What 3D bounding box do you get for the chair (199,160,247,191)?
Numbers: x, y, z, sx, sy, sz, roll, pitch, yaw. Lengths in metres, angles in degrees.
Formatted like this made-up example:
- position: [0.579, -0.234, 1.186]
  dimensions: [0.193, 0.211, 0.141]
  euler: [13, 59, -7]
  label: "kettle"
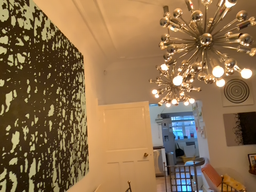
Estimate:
- position: [1.700, 1.630, 3.760]
  dimensions: [0.580, 0.820, 0.520]
  euler: [-11, -10, 42]
  label: "chair"
